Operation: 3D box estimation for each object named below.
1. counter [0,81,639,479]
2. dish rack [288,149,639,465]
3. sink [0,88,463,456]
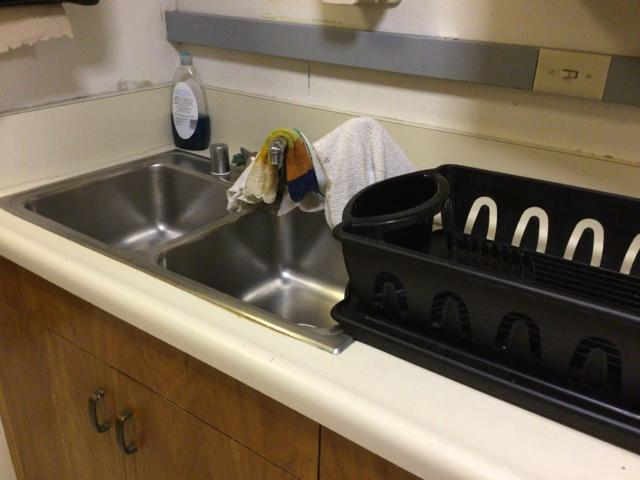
[{"bbox_3d":[0.110,0.000,0.920,1.690,0.250,0.660,17,29,32],"label":"counter"},{"bbox_3d":[0.290,0.040,0.780,0.530,0.160,0.400,17,29,32],"label":"dish rack"},{"bbox_3d":[-0.190,-0.040,1.150,0.730,0.370,0.550,17,29,32],"label":"sink"}]
